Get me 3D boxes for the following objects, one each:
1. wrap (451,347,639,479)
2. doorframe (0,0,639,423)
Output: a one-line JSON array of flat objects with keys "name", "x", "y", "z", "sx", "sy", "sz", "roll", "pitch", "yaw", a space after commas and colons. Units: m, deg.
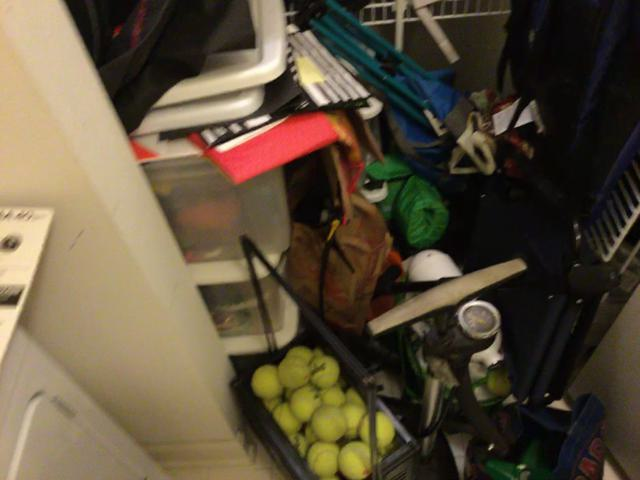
[{"name": "wrap", "x": 0.450, "y": 0.470, "z": 1.110, "sx": 0.290, "sy": 0.420, "sz": 0.350, "roll": -5, "pitch": 52, "yaw": 2}, {"name": "doorframe", "x": 0.140, "y": -0.300, "z": 0.510, "sx": 0.860, "sy": 1.830, "sz": 0.220, "roll": -5, "pitch": 52, "yaw": 2}]
